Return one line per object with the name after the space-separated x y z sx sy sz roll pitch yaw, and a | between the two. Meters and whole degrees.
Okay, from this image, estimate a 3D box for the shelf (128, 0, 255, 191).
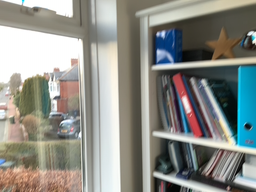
0.390 0.500 1.070 0.690 1.880 0.330 2 5 40 | shelf
